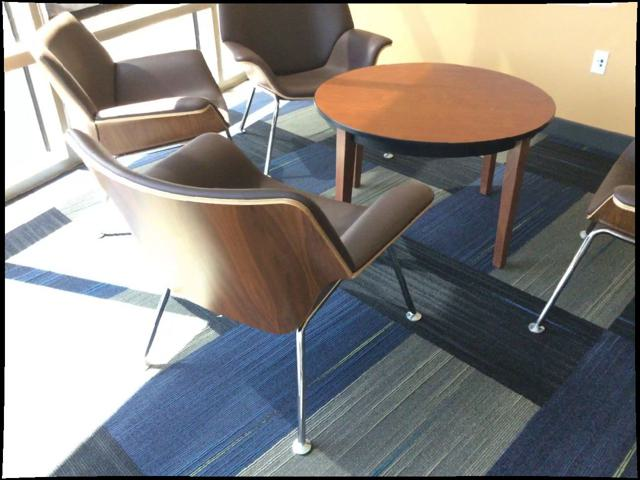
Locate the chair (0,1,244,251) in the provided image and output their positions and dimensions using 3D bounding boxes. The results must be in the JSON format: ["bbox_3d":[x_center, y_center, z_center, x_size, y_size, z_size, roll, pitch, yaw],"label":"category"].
[{"bbox_3d":[-0.778,-0.541,2.530,0.798,0.761,0.891,-3,34,-4],"label":"chair"}]

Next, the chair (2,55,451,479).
[{"bbox_3d":[-0.209,0.000,1.680,0.849,0.751,0.760,20,39,27],"label":"chair"}]

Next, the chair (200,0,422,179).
[{"bbox_3d":[-0.070,-0.902,3.090,0.898,0.741,0.740,-14,36,-19],"label":"chair"}]

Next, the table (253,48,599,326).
[{"bbox_3d":[0.419,-0.321,2.420,0.959,0.581,0.969,28,43,36],"label":"table"}]
